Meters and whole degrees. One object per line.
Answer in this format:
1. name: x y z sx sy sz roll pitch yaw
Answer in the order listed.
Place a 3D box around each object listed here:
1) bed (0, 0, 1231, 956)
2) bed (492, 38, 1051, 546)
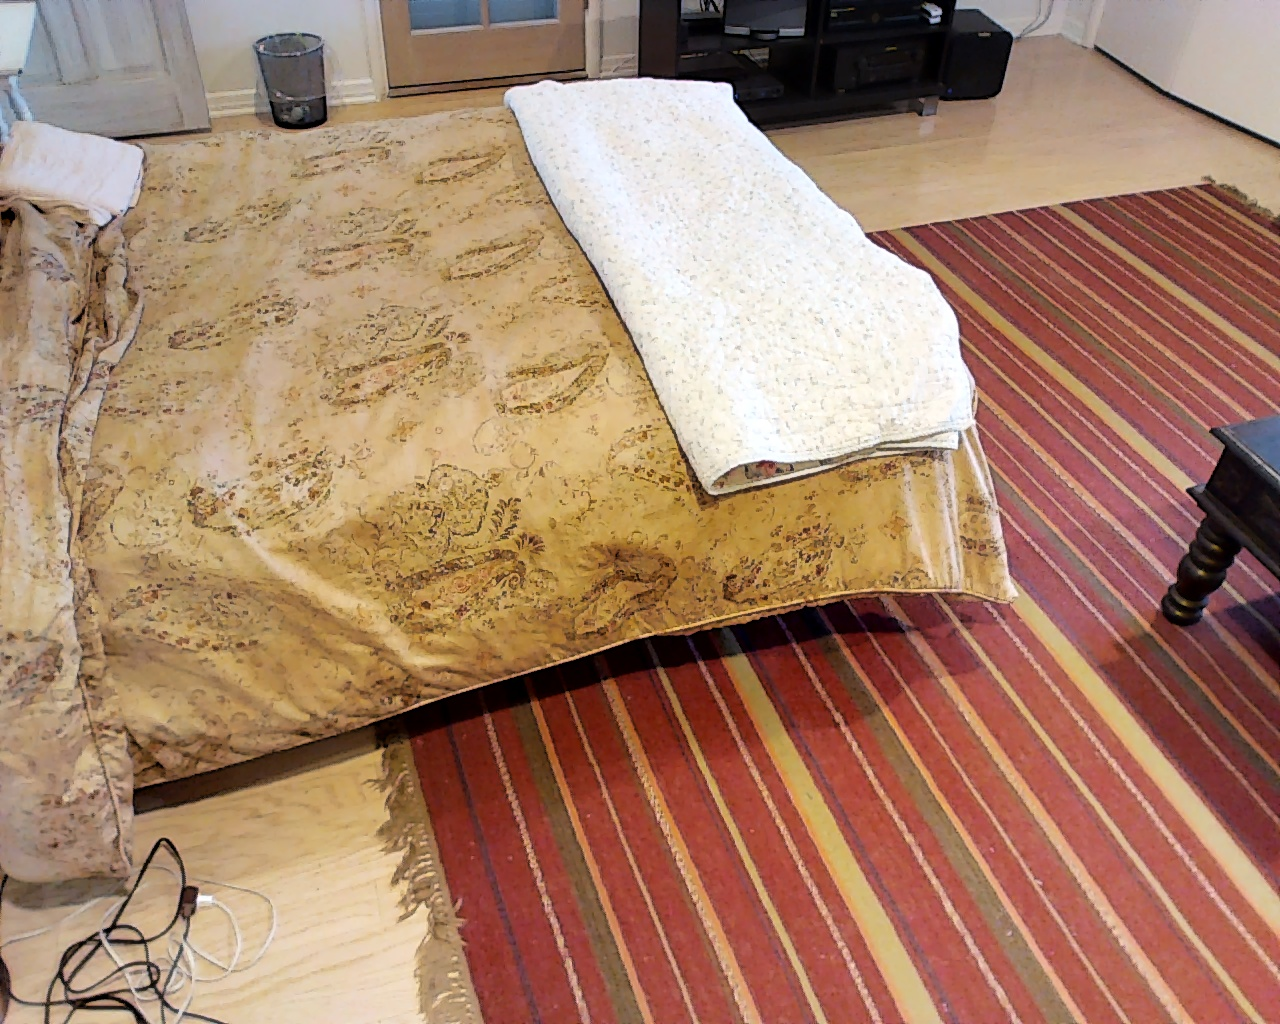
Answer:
1. bed: -0.580 -0.380 2.180 2.350 0.920 1.840 -11 43 -14
2. bed: 0.130 -0.600 2.270 0.610 0.230 1.620 -9 42 -12
